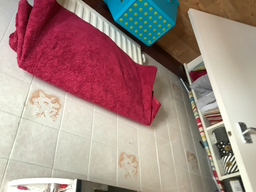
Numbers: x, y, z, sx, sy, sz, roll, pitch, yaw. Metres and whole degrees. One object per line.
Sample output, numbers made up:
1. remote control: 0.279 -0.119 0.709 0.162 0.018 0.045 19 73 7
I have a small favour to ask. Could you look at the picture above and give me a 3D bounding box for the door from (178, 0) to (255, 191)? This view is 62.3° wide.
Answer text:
1. door: 0.810 0.120 1.140 0.750 2.030 0.120 8 144 -15
